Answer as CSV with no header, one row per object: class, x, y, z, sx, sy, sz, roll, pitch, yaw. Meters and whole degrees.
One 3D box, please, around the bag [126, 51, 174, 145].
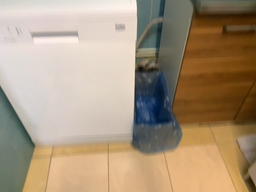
bag,0.110,-0.010,1.370,0.220,0.260,0.580,-2,46,-2
